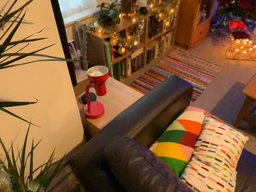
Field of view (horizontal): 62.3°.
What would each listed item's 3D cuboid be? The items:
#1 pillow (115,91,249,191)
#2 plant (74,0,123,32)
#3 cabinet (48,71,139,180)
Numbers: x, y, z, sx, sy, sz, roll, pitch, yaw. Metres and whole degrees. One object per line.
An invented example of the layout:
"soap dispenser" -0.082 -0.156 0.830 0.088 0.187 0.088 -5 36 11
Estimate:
"pillow" 0.310 0.280 1.140 0.490 0.140 0.620 22 47 24
"plant" -0.240 -0.710 1.800 0.260 0.170 0.300 30 51 30
"cabinet" -0.200 0.200 1.490 0.360 0.510 0.430 29 51 29
